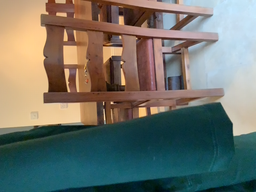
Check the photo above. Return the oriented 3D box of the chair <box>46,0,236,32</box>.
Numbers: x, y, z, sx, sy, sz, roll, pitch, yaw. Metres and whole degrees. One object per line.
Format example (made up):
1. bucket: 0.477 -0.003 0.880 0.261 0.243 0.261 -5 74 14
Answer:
1. chair: 0.030 -0.720 1.300 0.580 1.010 0.410 178 90 -71
